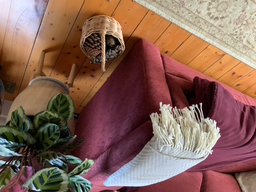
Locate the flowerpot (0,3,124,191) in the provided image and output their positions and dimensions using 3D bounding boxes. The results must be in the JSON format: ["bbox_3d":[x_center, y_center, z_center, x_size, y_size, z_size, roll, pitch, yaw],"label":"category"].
[{"bbox_3d":[-0.400,0.100,1.040,0.540,0.840,0.510,16,138,-25],"label":"flowerpot"}]
